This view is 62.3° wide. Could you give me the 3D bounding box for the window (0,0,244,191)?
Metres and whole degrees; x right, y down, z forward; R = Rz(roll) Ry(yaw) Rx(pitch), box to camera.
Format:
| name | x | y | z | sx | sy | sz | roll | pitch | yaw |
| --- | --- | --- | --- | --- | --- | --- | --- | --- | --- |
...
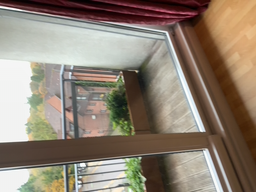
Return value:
| name | x | y | z | sx | sy | sz | roll | pitch | yaw |
| --- | --- | --- | --- | --- | --- | --- | --- | --- | --- |
| window | -0.250 | 0.220 | 1.350 | 0.130 | 2.090 | 2.230 | 128 | 138 | -52 |
